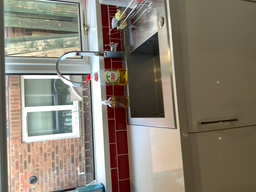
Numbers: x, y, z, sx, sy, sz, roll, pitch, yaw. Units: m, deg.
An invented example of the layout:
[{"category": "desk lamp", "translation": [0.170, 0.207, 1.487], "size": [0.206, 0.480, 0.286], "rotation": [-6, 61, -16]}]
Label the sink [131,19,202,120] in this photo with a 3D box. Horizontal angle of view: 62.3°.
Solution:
[{"category": "sink", "translation": [0.180, -0.100, 1.200], "size": [0.490, 0.130, 0.460], "rotation": [165, 103, -68]}]
